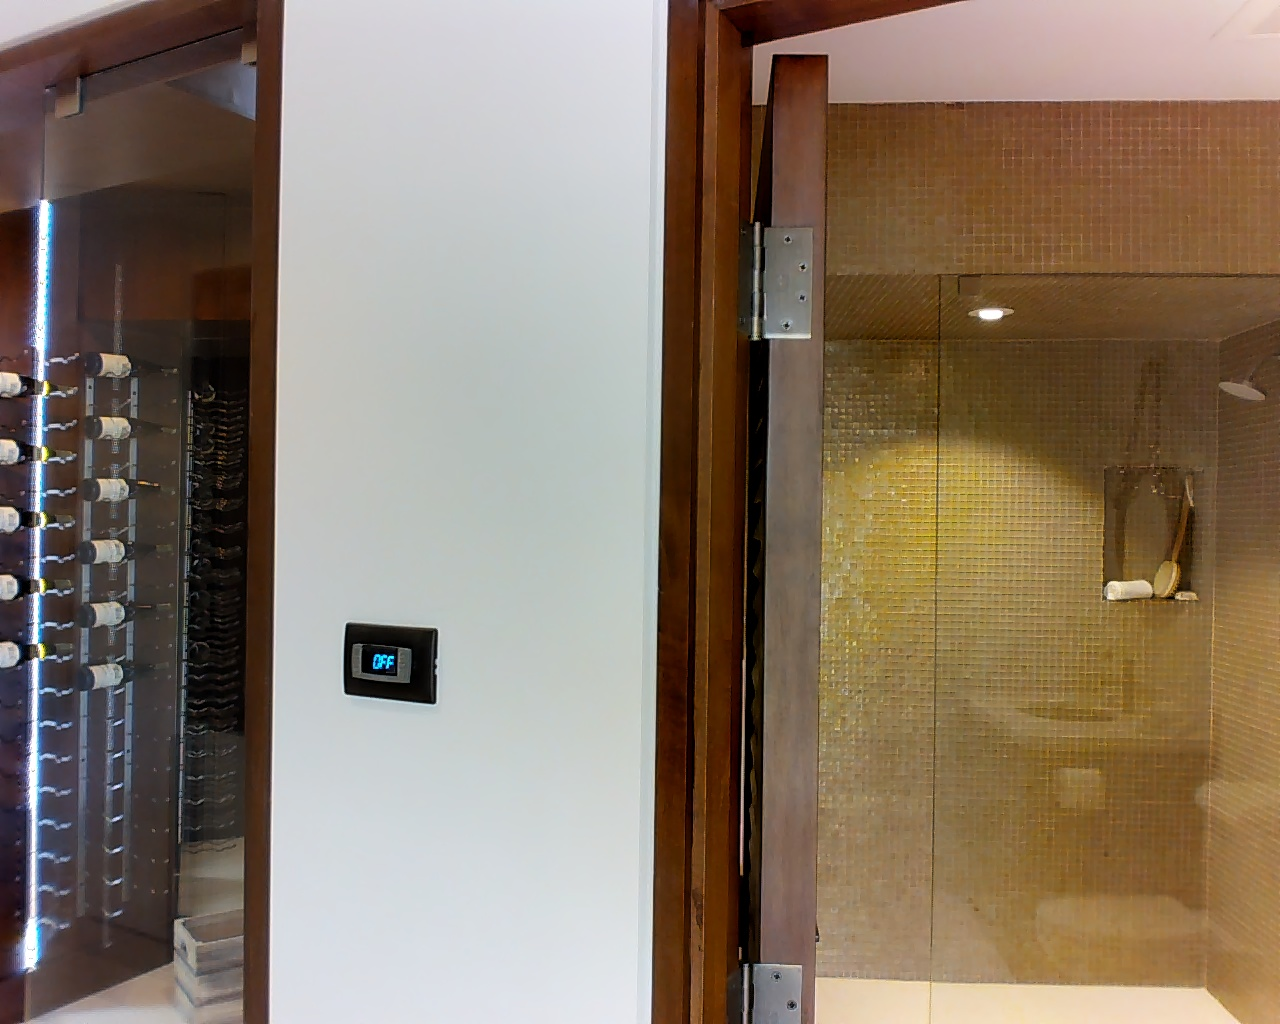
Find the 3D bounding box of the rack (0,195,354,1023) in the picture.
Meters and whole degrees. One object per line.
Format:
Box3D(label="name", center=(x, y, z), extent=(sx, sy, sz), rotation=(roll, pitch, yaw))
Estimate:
Box3D(label="rack", center=(-1.860, 0.260, 3.110), extent=(1.640, 2.630, 0.310), rotation=(1, -22, 3))
